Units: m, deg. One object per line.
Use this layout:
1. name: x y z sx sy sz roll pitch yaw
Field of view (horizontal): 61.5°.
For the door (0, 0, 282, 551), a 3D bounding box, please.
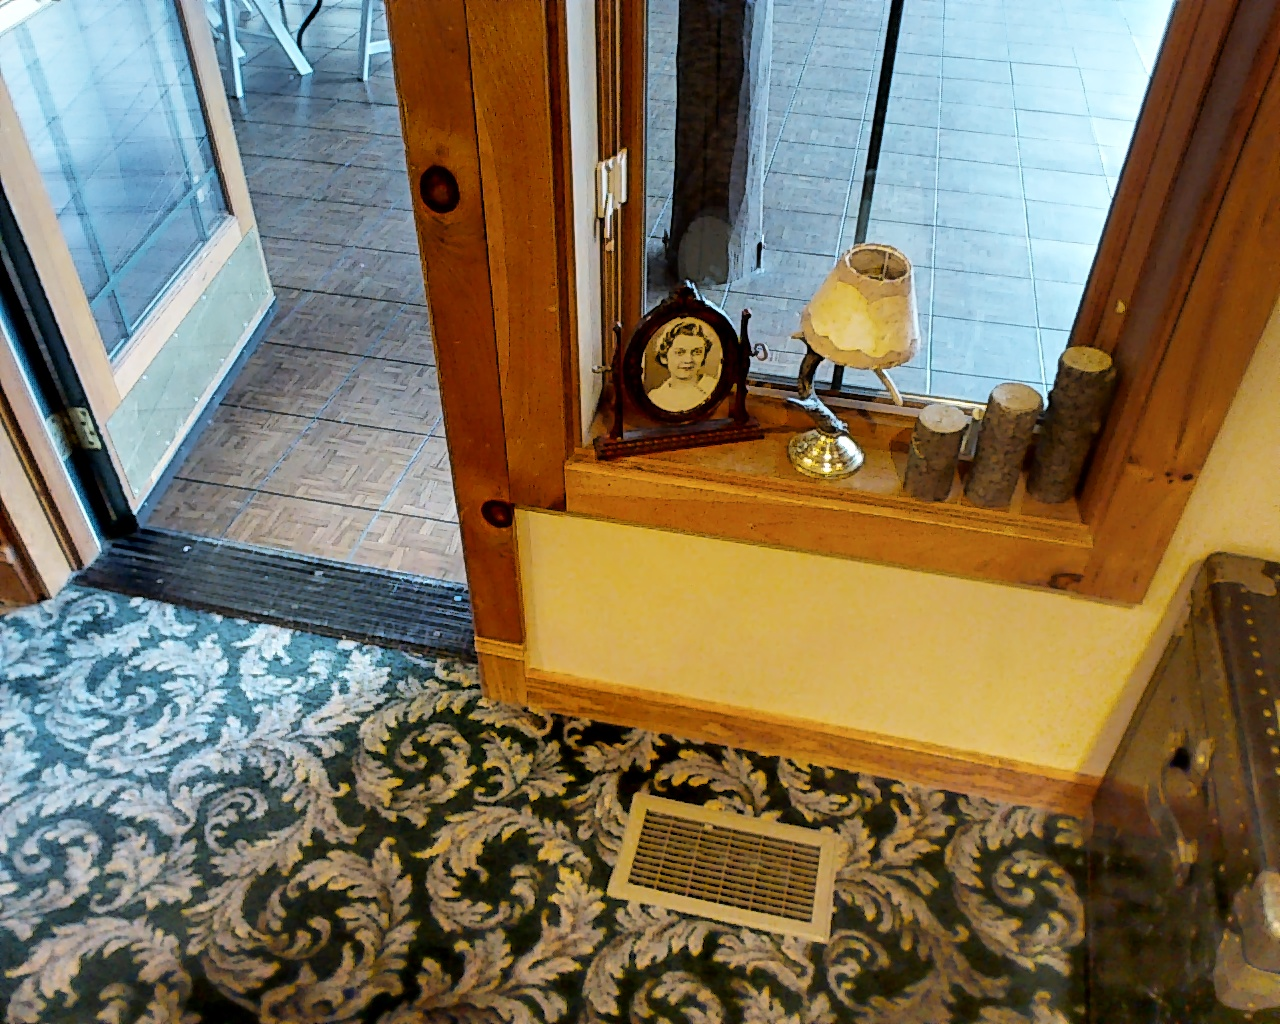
1. door: -1.110 -1.050 2.010 0.180 2.130 1.000 0 41 0
